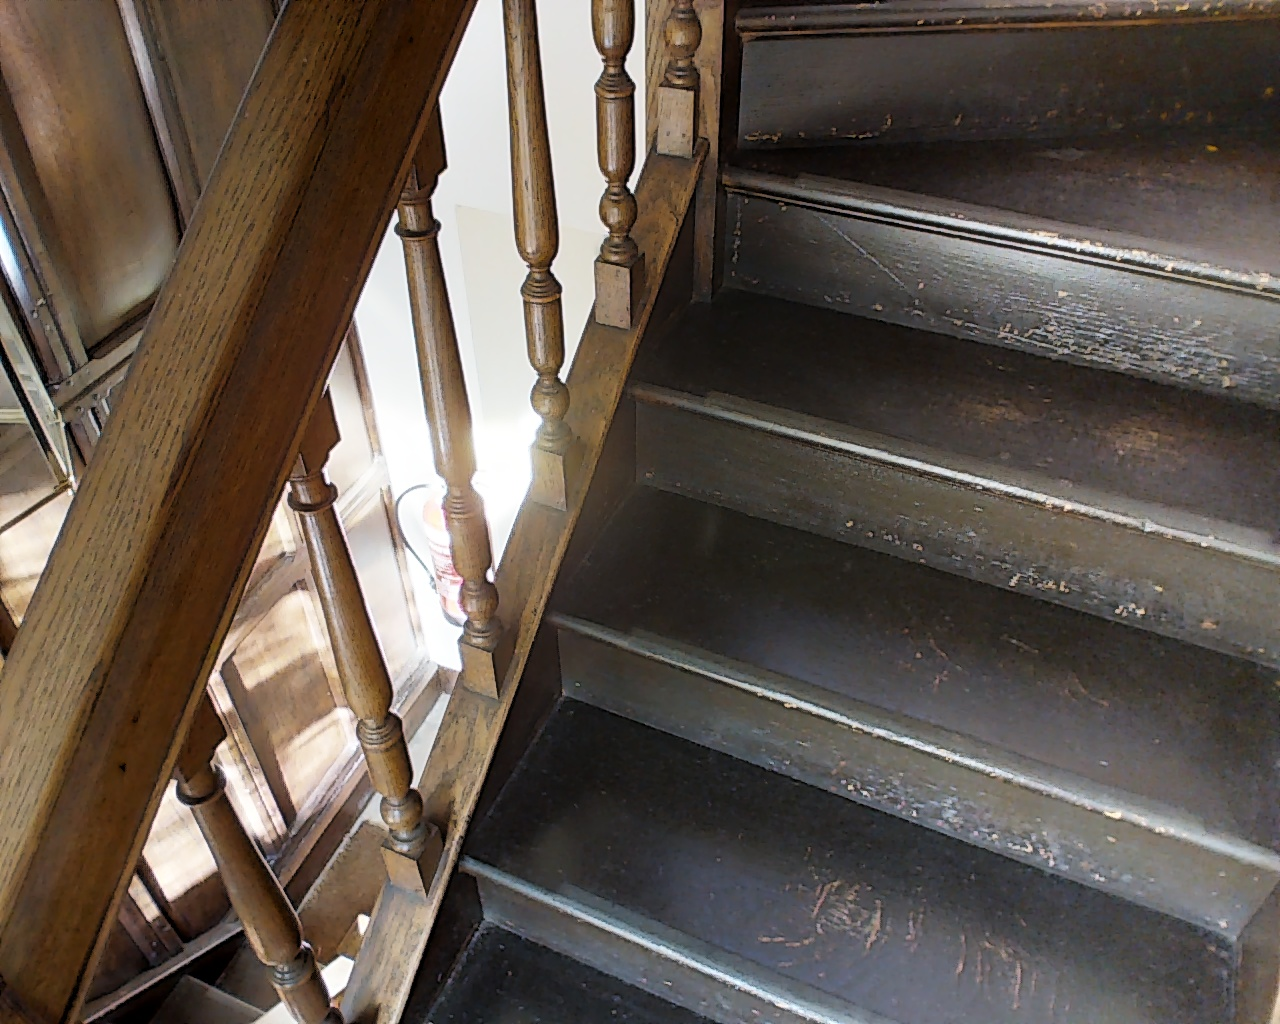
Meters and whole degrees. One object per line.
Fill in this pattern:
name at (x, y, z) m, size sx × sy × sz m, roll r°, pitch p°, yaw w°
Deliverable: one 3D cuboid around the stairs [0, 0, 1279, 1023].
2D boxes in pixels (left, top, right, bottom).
stairs at (-0.380, 0.580, 1.670) m, size 2.440 × 3.640 × 3.120 m, roll 11°, pitch 45°, yaw 13°
